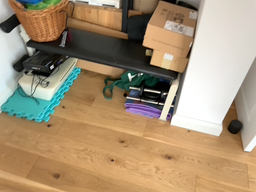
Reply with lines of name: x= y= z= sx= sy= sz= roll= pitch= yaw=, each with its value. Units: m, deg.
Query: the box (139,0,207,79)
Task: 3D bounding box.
box: x=0.280 y=-0.390 z=1.310 sx=0.300 sy=0.280 sz=0.470 roll=13 pitch=48 yaw=12

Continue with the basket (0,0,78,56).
basket: x=-0.610 y=-0.540 z=1.410 sx=0.390 sy=0.360 sz=0.320 roll=12 pitch=48 yaw=11
